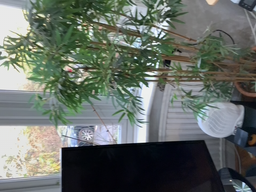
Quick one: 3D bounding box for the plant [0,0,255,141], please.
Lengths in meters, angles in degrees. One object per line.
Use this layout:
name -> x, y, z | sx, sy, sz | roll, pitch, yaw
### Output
plant -> 0.250, -0.180, 1.090 | 0.500, 1.640, 0.640 | -171, 84, -67

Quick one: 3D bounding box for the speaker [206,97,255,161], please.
speaker -> 0.810, 0.190, 1.390 | 0.390, 0.350, 0.270 | -147, 62, -64
